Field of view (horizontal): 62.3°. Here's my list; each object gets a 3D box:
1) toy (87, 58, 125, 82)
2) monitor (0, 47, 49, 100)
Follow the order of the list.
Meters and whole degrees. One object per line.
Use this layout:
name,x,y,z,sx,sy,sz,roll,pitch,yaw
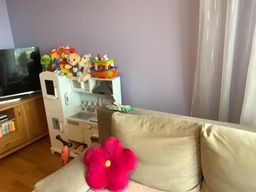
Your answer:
toy,-0.230,-0.290,2.300,0.300,0.200,0.260,7,19,28
monitor,-1.630,-0.270,2.740,1.060,0.640,0.060,-13,20,-29
